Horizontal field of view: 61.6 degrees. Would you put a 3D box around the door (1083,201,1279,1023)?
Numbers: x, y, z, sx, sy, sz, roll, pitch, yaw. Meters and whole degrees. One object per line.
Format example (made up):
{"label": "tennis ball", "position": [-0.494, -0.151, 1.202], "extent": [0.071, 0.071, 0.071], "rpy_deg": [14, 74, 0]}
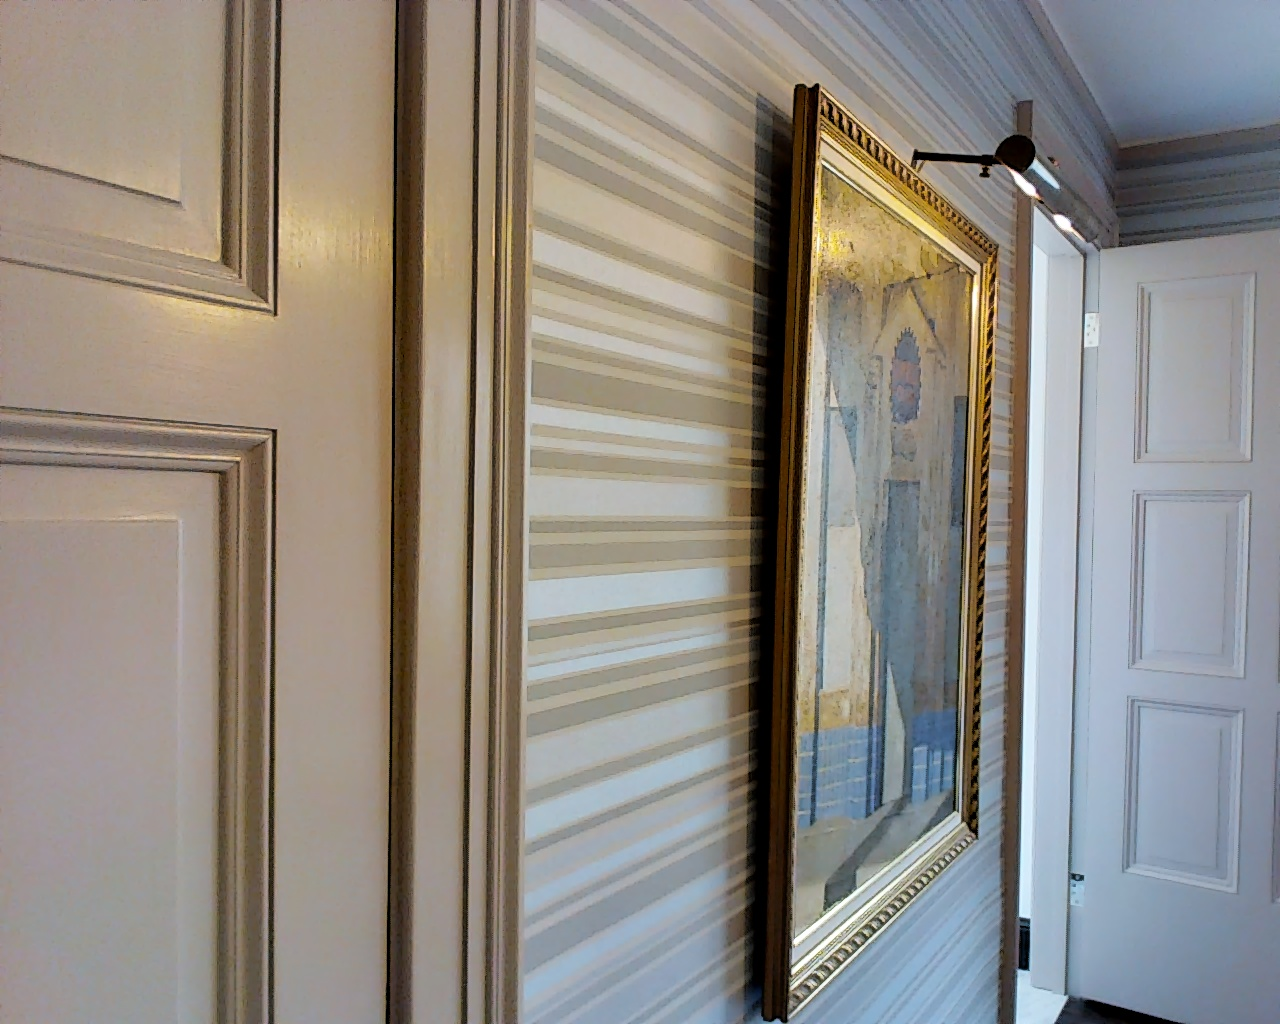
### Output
{"label": "door", "position": [1.790, 0.320, 3.010], "extent": [0.980, 2.350, 0.130], "rpy_deg": [1, 0, 34]}

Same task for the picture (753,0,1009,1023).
{"label": "picture", "position": [0.430, 0.010, 1.720], "extent": [0.070, 1.320, 0.930], "rpy_deg": [1, 1, 32]}
